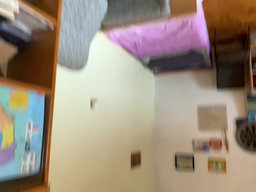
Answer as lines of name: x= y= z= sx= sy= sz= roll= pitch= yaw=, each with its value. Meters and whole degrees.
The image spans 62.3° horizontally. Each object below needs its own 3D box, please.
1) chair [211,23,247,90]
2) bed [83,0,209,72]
chair: x=1.430 y=-0.530 z=3.040 sx=0.390 sy=0.790 sz=0.520 roll=-3 pitch=171 yaw=23
bed: x=0.450 y=-0.790 z=2.690 sx=0.970 sy=0.400 sz=2.060 roll=-3 pitch=171 yaw=23
